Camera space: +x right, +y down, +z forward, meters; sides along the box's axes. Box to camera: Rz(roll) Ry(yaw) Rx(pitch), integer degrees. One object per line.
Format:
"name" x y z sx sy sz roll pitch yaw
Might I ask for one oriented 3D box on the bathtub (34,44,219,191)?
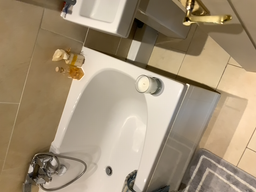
"bathtub" -0.140 0.610 1.470 0.750 0.580 1.680 26 102 36
